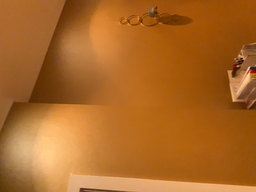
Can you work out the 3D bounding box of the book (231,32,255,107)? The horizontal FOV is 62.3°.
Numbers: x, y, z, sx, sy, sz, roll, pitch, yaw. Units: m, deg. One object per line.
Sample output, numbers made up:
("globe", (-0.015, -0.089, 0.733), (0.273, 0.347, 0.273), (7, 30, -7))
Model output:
("book", (0.830, -0.160, 1.260), (0.210, 0.290, 0.400), (80, -167, -57))
